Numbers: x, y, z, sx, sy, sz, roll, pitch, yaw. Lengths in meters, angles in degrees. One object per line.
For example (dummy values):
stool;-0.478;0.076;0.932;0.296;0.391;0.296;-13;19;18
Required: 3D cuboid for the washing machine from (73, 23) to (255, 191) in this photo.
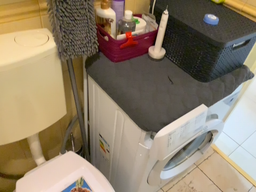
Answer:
washing machine;0.120;0.160;1.170;0.600;0.830;0.530;-25;54;-30
